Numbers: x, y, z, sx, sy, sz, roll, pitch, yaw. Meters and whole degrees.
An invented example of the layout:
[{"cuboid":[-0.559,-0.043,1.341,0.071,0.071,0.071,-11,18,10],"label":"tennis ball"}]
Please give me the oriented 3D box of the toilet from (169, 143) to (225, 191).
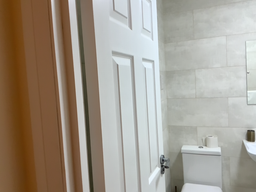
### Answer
[{"cuboid":[0.660,0.920,1.960,0.410,0.790,0.610,-2,4,21],"label":"toilet"}]
